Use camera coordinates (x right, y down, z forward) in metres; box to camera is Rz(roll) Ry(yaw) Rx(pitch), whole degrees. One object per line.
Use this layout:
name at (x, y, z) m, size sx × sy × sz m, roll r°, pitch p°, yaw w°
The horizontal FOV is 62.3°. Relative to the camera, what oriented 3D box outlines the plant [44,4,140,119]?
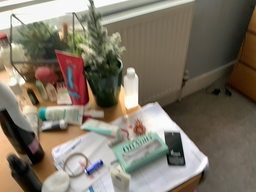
plant at (-0.080, -0.090, 0.540) m, size 0.170 × 0.210 × 0.140 m, roll -23°, pitch 46°, yaw -22°
